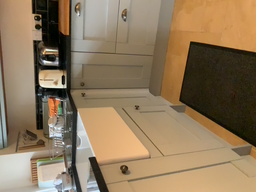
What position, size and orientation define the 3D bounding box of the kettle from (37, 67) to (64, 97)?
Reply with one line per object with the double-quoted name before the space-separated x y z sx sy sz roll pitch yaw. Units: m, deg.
"kettle" -0.700 -0.130 1.910 0.170 0.220 0.220 -135 48 -58
